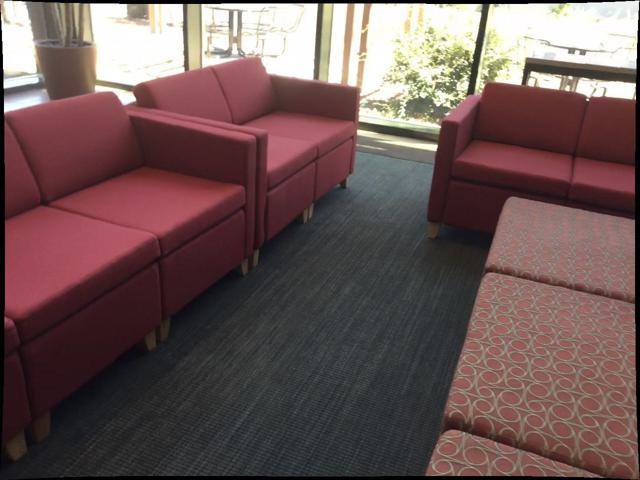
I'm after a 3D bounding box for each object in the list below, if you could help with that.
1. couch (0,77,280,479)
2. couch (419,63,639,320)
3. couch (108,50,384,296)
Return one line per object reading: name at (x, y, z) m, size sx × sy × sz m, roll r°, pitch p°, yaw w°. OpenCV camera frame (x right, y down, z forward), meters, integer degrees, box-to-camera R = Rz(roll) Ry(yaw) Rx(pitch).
couch at (-1.008, 0.140, 1.880) m, size 0.809 × 0.811 × 2.100 m, roll 18°, pitch 31°, yaw 18°
couch at (1.657, -0.190, 2.870) m, size 2.018 × 0.841 × 0.880 m, roll 18°, pitch 31°, yaw 18°
couch at (-0.319, -0.471, 3.140) m, size 0.829 × 0.771 × 1.350 m, roll 18°, pitch 31°, yaw 18°
